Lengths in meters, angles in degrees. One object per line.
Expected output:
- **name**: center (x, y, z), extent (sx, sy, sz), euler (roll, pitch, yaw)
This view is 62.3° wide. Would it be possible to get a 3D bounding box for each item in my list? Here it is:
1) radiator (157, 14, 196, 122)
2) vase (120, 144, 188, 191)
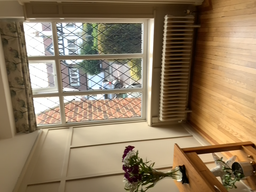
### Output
- **radiator**: center (0.660, -0.360, 2.970), extent (0.140, 0.450, 1.450), euler (-132, 40, -73)
- **vase**: center (0.190, 0.660, 1.790), extent (0.390, 0.460, 0.320), euler (-127, 36, -71)
